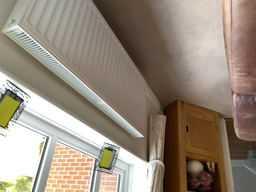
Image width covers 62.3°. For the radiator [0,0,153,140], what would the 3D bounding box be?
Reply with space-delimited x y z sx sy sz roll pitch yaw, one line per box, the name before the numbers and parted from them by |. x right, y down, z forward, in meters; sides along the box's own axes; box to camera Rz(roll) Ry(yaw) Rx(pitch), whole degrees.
radiator | -0.160 -0.240 1.600 0.180 0.720 1.470 -9 149 25
